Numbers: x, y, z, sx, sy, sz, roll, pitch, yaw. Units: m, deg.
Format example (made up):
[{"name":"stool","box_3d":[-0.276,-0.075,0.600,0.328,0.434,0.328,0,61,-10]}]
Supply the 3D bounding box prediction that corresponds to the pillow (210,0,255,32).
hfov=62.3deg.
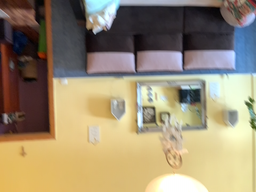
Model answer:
[{"name":"pillow","box_3d":[1.400,-1.030,2.400,0.600,0.420,0.670,-3,-178,-13]}]

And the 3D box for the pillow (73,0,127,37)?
[{"name":"pillow","box_3d":[-0.290,-1.010,2.340,0.480,0.500,0.830,-3,-178,-4]}]
